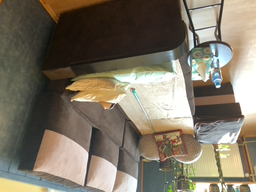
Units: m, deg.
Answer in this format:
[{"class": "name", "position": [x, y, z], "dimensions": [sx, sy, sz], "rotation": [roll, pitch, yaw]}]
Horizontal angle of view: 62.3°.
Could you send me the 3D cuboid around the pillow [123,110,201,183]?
[{"class": "pillow", "position": [0.450, 0.650, 2.860], "dimensions": [0.860, 0.530, 0.260], "rotation": [29, 160, 31]}]
